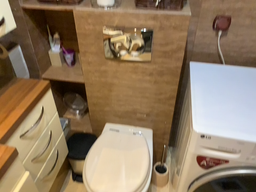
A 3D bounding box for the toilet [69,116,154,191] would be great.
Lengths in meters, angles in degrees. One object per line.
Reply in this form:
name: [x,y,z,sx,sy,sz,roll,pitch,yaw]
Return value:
toilet: [-0.060,0.480,1.330,0.370,0.430,0.520,6,39,7]
